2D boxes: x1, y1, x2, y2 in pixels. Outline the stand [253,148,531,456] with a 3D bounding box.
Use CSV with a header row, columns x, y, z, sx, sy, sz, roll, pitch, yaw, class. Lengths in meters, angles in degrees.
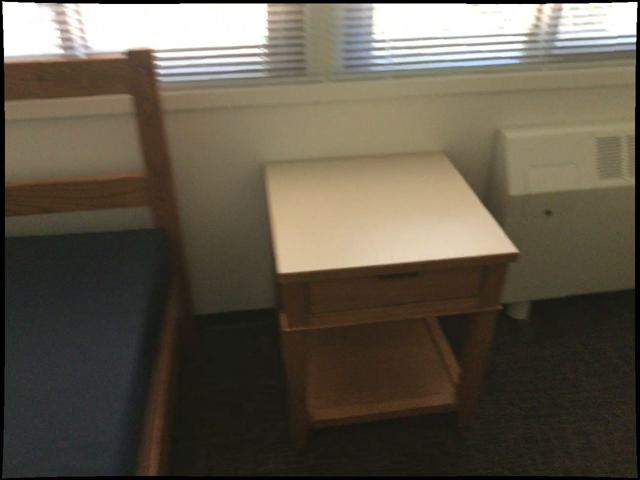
x,y,z,sx,sy,sz,roll,pitch,yaw,class
0.130,0.150,1.580,0.569,0.601,0.520,-4,35,-7,stand
